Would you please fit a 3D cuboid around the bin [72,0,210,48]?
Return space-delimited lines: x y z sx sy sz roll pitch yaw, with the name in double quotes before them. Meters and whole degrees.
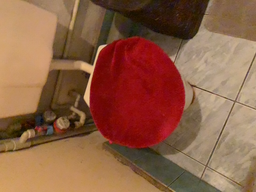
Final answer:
"bin" 0.080 -0.460 1.000 0.440 0.440 0.290 26 106 31
